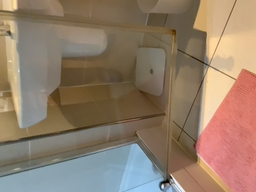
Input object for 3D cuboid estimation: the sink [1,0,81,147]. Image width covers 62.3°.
[{"bbox_3d":[-0.410,-0.200,0.930,0.470,0.200,0.650,45,131,44],"label":"sink"}]
